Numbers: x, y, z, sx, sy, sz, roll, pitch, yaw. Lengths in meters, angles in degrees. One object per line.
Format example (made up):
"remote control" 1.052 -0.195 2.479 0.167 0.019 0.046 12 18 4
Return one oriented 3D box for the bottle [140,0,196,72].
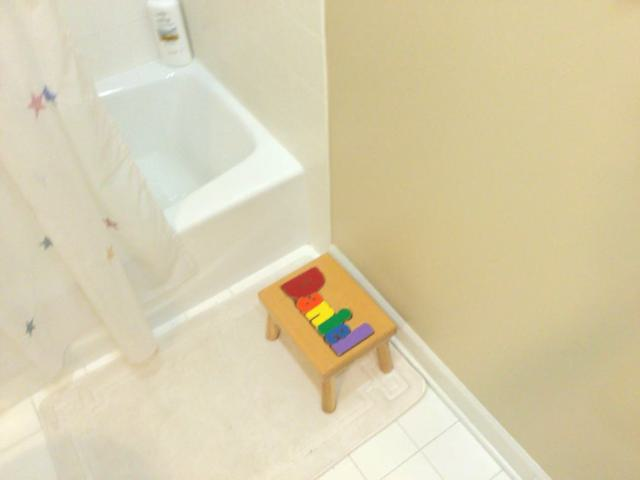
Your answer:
"bottle" -0.480 -0.680 1.810 0.100 0.270 0.090 -30 57 -20
